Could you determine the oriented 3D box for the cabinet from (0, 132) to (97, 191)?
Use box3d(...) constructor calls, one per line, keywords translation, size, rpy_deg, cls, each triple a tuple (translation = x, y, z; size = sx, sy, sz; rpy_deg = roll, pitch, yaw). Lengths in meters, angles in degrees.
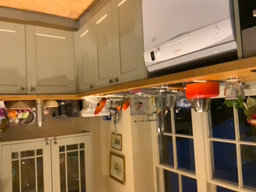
box3d(translation=(-0.960, 1.020, 2.590), size=(1.090, 1.010, 0.340), rpy_deg=(-1, 177, -32), cls="cabinet")
